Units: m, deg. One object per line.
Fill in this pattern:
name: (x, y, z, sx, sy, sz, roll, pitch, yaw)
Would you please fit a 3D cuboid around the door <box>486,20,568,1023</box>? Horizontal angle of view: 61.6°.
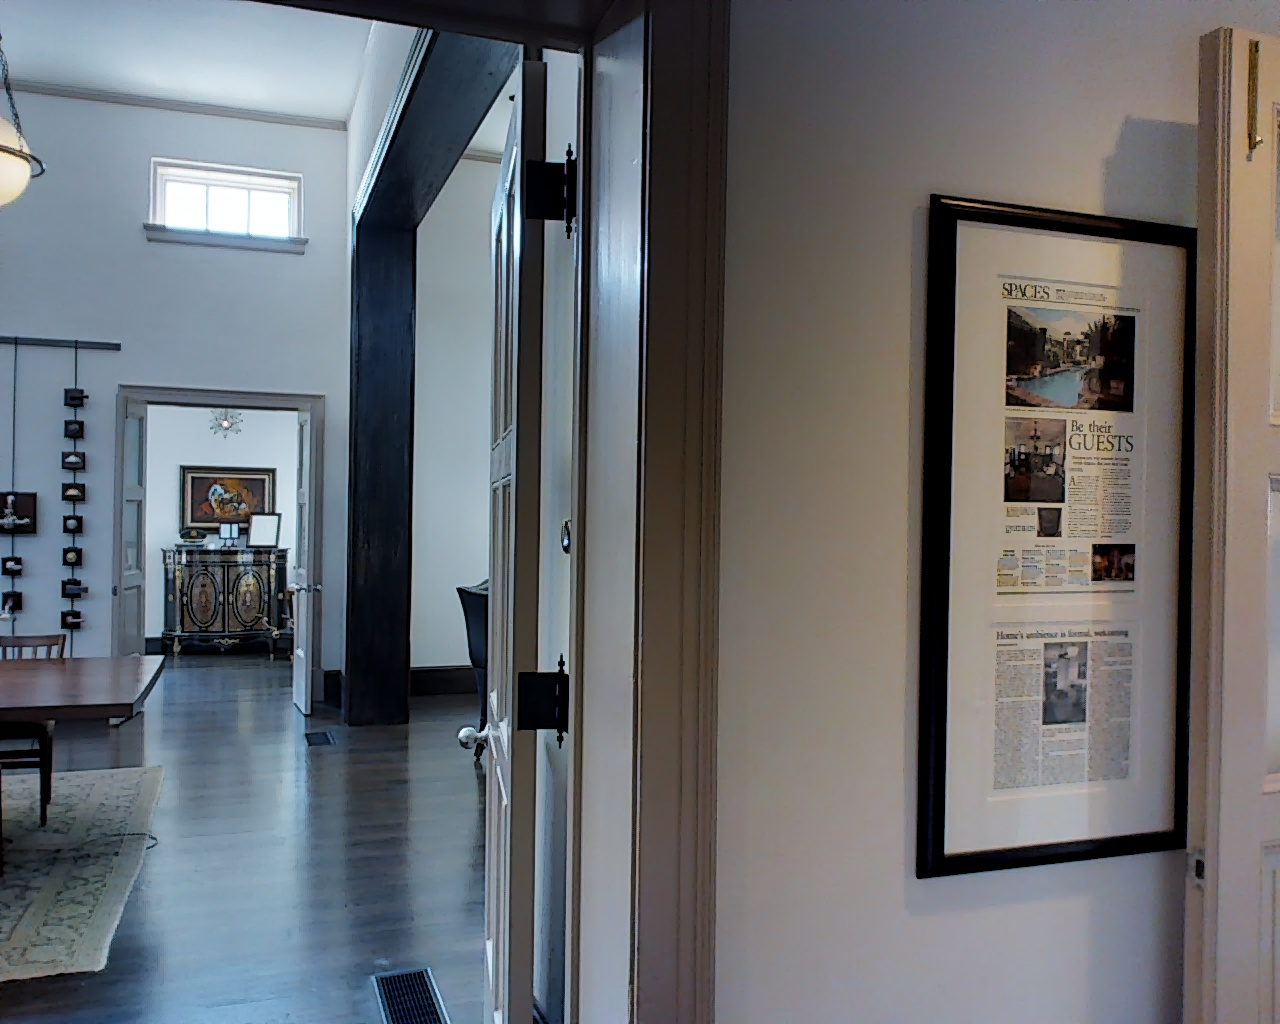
door: (-0.260, 0.300, 2.310, 0.080, 2.360, 0.780, 1, 0, -10)
